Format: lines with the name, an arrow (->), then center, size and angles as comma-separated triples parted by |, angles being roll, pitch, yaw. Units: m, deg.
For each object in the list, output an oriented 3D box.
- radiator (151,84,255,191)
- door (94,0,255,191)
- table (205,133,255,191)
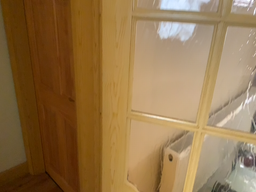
radiator -> 0.870, 0.430, 2.040 | 0.140, 0.690, 1.900 | 23, 30, 39
door -> 0.250, 0.260, 0.850 | 0.820, 2.040, 0.040 | 10, 24, 15
table -> 1.000, 0.730, 1.750 | 0.440, 0.390, 0.860 | 21, 29, 36
